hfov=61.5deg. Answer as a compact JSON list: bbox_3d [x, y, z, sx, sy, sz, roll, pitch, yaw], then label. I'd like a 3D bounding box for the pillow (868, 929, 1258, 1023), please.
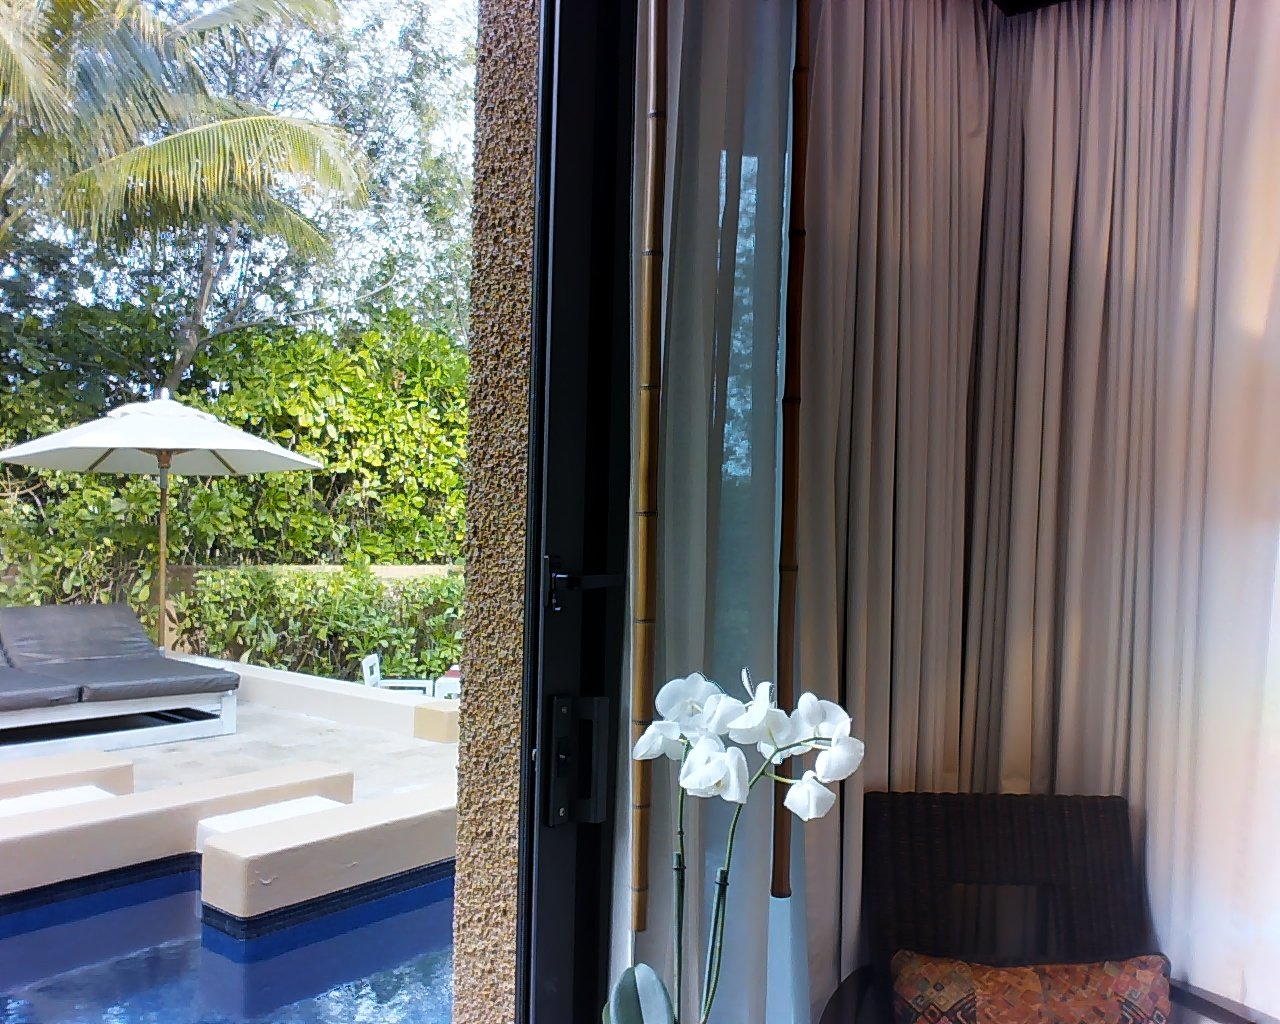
[{"bbox_3d":[0.650,0.810,1.690,0.530,0.220,0.210,1,0,-6],"label":"pillow"}]
